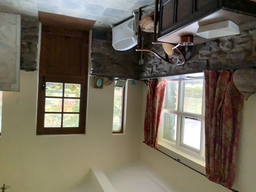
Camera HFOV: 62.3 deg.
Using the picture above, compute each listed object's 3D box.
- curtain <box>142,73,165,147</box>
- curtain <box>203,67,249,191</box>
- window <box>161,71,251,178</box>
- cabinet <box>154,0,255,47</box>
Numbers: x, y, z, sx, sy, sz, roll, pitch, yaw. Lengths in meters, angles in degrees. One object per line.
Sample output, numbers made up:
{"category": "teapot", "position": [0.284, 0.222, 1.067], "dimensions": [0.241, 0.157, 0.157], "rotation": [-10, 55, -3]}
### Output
{"category": "curtain", "position": [0.460, 0.240, 3.870], "dimensions": [0.220, 1.280, 0.330], "rotation": [3, -179, -20]}
{"category": "curtain", "position": [1.020, 0.350, 2.240], "dimensions": [0.160, 1.260, 0.350], "rotation": [3, -179, -19]}
{"category": "window", "position": [1.010, 0.300, 3.170], "dimensions": [0.160, 1.210, 1.610], "rotation": [3, -179, -21]}
{"category": "cabinet", "position": [0.760, -0.890, 2.090], "dimensions": [0.550, 0.560, 1.040], "rotation": [3, -179, -20]}
